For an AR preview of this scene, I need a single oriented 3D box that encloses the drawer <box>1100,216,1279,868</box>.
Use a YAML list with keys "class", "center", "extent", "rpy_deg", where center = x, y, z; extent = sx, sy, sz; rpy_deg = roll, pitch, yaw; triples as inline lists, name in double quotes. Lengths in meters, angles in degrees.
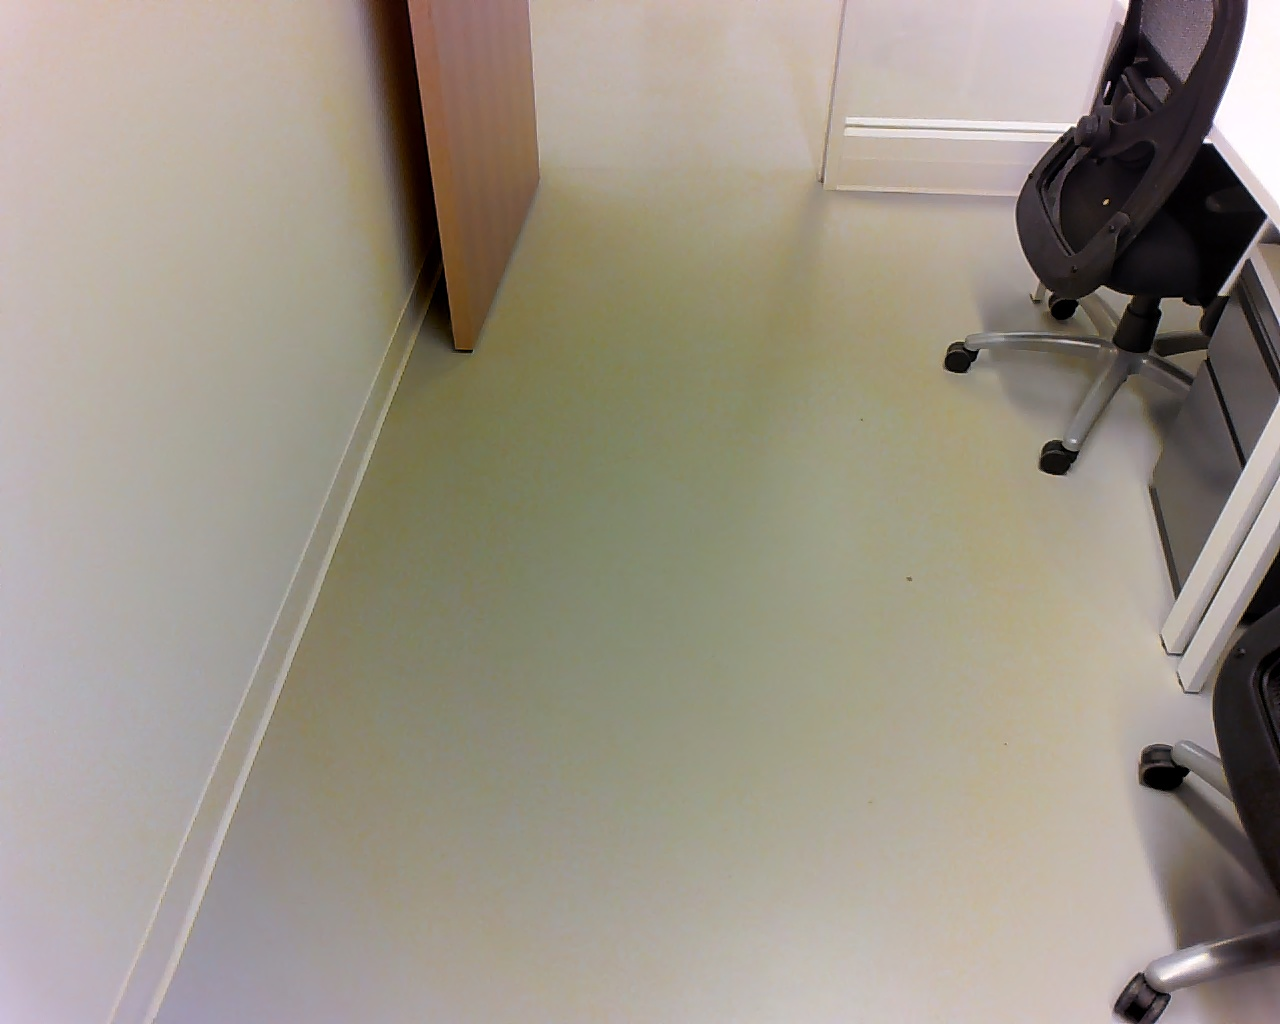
- class: "drawer"
  center: [1.000, 0.010, 1.740]
  extent: [0.110, 0.590, 0.910]
  rpy_deg: [3, 43, 3]
